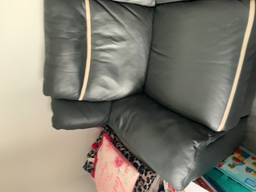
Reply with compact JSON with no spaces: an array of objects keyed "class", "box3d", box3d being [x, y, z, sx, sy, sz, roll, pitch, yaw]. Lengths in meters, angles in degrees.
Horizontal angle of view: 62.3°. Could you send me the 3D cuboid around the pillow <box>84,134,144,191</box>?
[{"class":"pillow","box3d":[-0.120,0.540,1.420,0.460,0.130,0.400,23,113,48]}]
